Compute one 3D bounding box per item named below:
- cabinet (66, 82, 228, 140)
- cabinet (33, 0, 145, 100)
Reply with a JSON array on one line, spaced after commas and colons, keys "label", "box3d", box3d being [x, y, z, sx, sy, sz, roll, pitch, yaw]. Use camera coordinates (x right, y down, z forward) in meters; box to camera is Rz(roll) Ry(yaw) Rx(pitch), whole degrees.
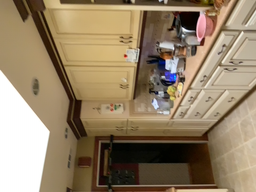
[{"label": "cabinet", "box3d": [0.280, 0.300, 3.730, 0.870, 2.440, 0.720, 96, 174, -61]}, {"label": "cabinet", "box3d": [-0.370, -0.520, 2.620, 1.790, 0.930, 0.330, 96, 174, -61]}]
